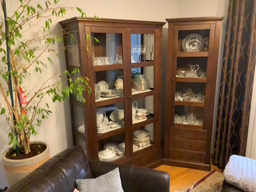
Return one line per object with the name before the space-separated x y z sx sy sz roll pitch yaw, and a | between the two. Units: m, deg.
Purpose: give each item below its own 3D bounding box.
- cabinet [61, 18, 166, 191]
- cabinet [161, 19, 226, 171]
cabinet | -0.120 0.100 2.690 1.140 1.940 0.490 -12 18 -38
cabinet | 0.850 0.000 2.980 0.680 1.980 0.510 2 14 11
